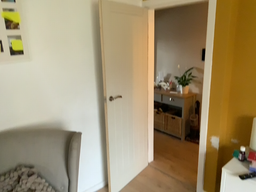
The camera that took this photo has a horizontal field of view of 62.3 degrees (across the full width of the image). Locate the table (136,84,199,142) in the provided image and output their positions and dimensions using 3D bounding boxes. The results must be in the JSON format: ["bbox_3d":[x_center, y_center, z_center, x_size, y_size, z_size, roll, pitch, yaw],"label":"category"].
[{"bbox_3d":[0.660,0.250,3.810,0.390,0.740,1.060,-15,20,-42],"label":"table"}]
